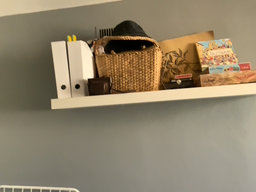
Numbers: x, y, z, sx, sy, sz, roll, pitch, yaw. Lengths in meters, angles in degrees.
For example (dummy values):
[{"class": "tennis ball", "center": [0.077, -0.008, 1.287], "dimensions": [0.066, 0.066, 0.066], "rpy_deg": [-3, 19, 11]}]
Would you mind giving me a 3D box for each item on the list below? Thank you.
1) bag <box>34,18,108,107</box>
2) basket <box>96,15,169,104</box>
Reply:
[{"class": "bag", "center": [-0.310, -0.170, 1.220], "dimensions": [0.320, 0.410, 0.280], "rpy_deg": [-5, -10, 6]}, {"class": "basket", "center": [0.030, -0.180, 1.190], "dimensions": [0.340, 0.390, 0.280], "rpy_deg": [-5, -10, 6]}]
